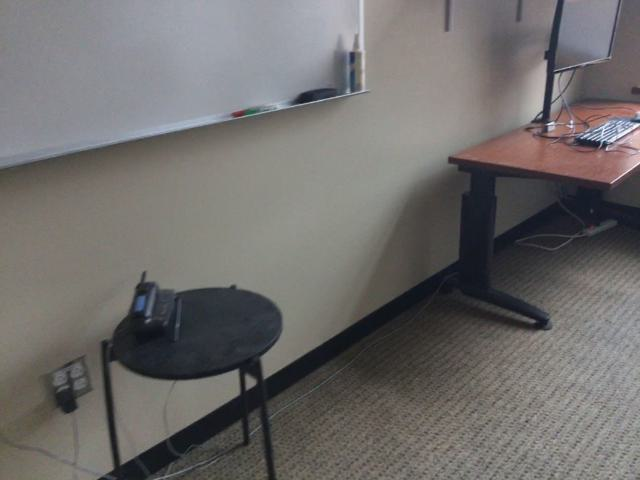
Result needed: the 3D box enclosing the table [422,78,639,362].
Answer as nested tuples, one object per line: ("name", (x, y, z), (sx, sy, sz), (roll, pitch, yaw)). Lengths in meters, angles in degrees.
("table", (1.280, -0.240, 2.760), (1.510, 0.800, 0.780), (-26, 28, -38))
